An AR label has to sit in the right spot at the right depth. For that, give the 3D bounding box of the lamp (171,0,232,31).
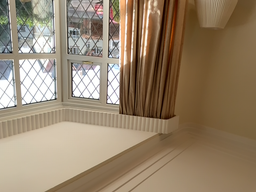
[{"bbox_3d":[0.790,-1.030,2.220,0.450,0.640,0.430,14,-162,37],"label":"lamp"}]
